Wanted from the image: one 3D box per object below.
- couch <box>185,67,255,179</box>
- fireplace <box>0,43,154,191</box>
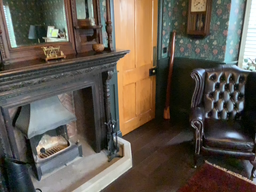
[{"bbox_3d":[1.130,0.240,2.530,0.740,0.980,0.830,5,21,18],"label":"couch"},{"bbox_3d":[-0.710,0.220,2.250,1.110,1.300,1.780,16,26,40],"label":"fireplace"}]
